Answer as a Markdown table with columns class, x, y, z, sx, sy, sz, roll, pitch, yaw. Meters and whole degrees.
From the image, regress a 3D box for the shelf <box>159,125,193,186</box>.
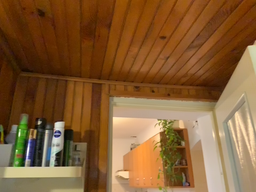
| class | x | y | z | sx | sy | sz | roll | pitch | yaw |
| --- | --- | --- | --- | --- | --- | --- | --- | --- | --- |
| shelf | 0.610 | 0.770 | 2.750 | 0.300 | 0.730 | 0.220 | 5 | -22 | -13 |

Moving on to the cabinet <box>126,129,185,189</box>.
| class | x | y | z | sx | sy | sz | roll | pitch | yaw |
| --- | --- | --- | --- | --- | --- | --- | --- | --- | --- |
| cabinet | 0.340 | 1.190 | 3.740 | 0.300 | 0.760 | 1.990 | 5 | -22 | -13 |
